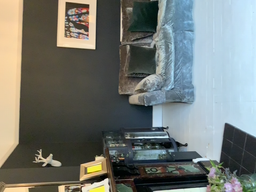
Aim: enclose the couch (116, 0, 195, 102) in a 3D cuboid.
[{"bbox_3d":[0.330,-0.890,3.270,1.250,0.820,1.940,180,91,-78],"label":"couch"}]
